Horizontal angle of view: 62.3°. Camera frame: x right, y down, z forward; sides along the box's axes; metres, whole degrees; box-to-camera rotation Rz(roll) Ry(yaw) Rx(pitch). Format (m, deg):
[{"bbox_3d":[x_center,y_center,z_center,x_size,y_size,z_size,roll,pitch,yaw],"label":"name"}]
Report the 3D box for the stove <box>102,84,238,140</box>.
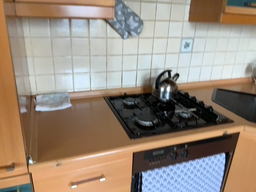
[{"bbox_3d":[0.200,0.050,1.250,0.590,0.030,0.550,-5,24,-19],"label":"stove"}]
